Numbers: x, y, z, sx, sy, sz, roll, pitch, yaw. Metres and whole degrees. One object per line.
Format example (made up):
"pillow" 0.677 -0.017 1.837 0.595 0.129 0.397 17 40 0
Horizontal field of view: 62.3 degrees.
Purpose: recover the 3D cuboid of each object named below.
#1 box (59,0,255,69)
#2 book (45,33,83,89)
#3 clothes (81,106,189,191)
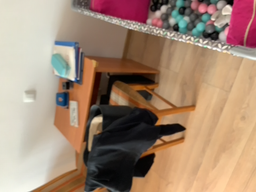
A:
"box" 0.270 -0.720 1.260 1.380 0.710 0.730 32 116 41
"book" -0.480 -0.260 1.550 0.320 0.100 0.320 32 116 41
"clothes" 0.060 0.280 1.120 0.130 0.560 0.380 31 115 41
